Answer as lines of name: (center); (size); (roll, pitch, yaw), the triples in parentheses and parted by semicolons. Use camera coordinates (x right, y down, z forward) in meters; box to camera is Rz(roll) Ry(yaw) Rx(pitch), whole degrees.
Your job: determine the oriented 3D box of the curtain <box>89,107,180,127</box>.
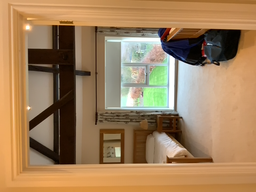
curtain: (0.160, 0.500, 5.080); (0.320, 2.120, 0.420); (-170, 81, -86)
